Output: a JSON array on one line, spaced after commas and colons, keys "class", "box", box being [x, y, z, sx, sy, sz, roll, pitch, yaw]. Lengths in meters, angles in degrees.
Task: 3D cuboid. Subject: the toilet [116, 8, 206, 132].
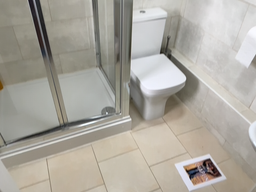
[{"class": "toilet", "box": [0.190, -0.220, 1.770, 0.400, 0.780, 0.590, -14, 43, -18]}]
